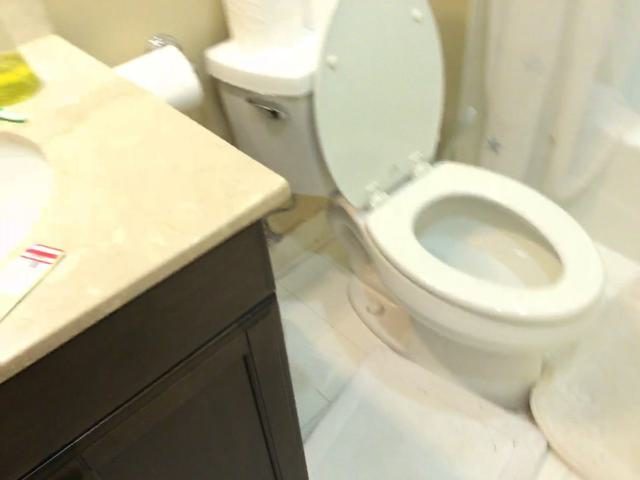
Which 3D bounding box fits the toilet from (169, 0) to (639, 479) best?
[{"bbox_3d":[0.210,-0.090,1.170,0.490,0.810,0.750,-36,51,-26],"label":"toilet"}]
